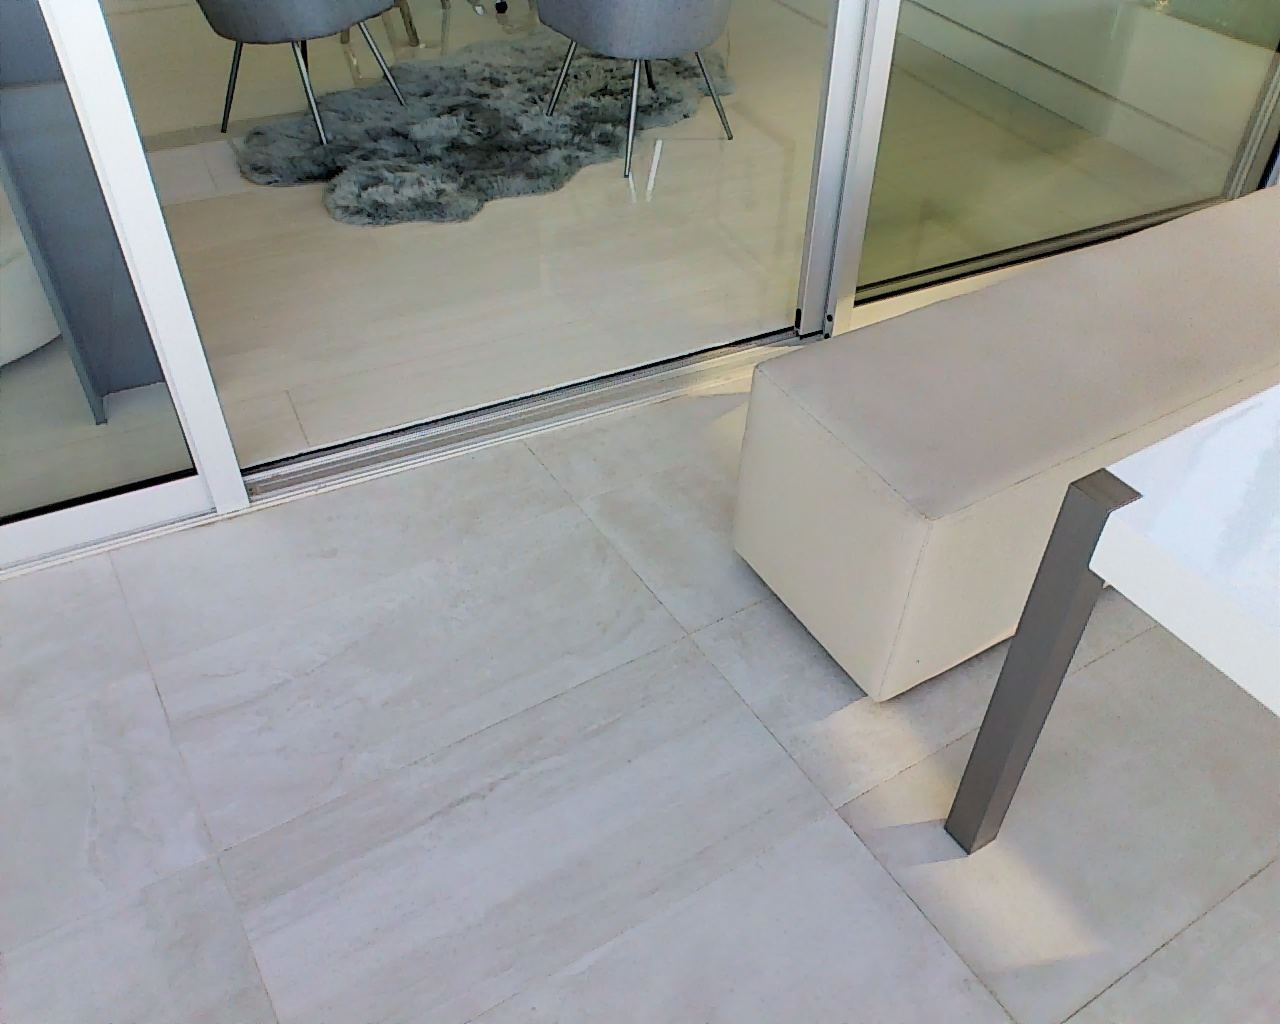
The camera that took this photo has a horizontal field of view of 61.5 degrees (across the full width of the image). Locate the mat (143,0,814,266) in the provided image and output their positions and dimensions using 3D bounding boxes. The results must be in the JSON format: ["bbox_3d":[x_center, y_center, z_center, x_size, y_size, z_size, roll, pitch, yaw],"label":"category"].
[{"bbox_3d":[-0.510,-1.540,3.920,1.360,0.090,2.030,30,50,29],"label":"mat"}]
